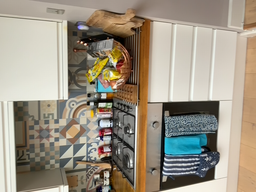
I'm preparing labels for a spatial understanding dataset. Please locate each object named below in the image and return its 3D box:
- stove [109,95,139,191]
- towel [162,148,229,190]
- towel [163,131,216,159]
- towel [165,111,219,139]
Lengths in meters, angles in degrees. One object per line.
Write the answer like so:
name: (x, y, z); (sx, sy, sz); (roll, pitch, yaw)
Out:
stove: (-0.050, 0.320, 1.590); (0.550, 0.020, 0.610); (-165, 75, -67)
towel: (0.460, 0.480, 1.430); (0.090, 0.480, 0.180); (-168, 78, -67)
towel: (0.400, 0.310, 1.380); (0.100, 0.340, 0.120); (-166, 76, -67)
towel: (0.430, 0.190, 1.410); (0.050, 0.390, 0.150); (-164, 74, -67)
